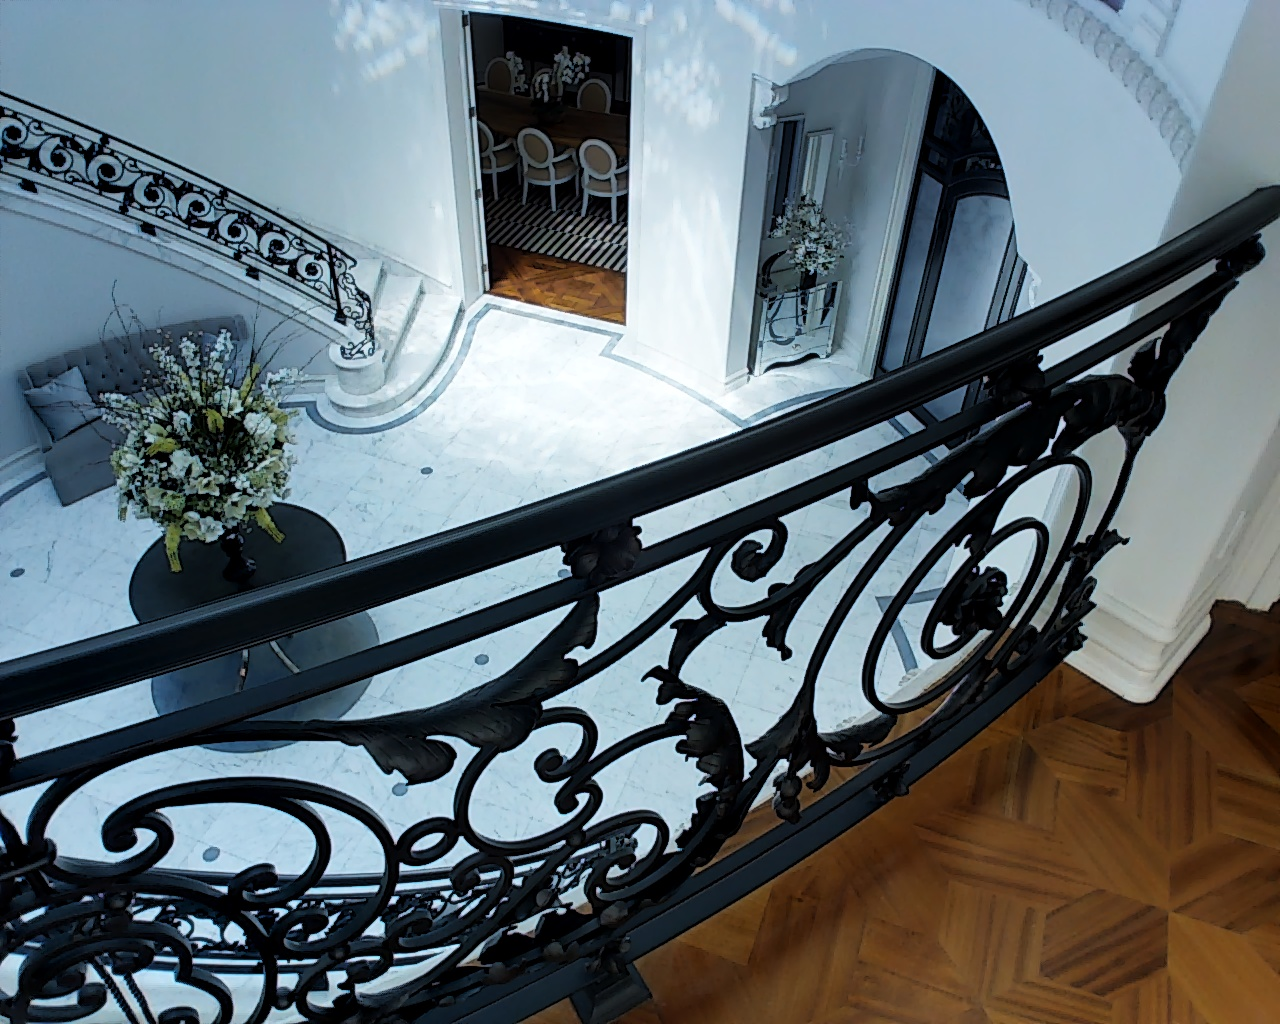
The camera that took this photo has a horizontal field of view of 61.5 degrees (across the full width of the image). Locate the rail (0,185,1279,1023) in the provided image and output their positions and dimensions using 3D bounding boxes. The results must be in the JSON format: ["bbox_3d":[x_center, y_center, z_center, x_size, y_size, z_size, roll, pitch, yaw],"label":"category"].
[{"bbox_3d":[-0.190,0.370,1.310,2.400,1.060,0.280,-17,45,-20],"label":"rail"}]
